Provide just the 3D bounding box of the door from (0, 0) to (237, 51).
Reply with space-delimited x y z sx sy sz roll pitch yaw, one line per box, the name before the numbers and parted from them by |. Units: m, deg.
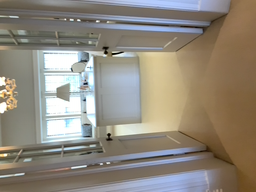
door | -0.320 -0.580 1.680 0.910 2.040 0.070 154 114 -72
